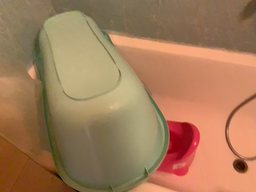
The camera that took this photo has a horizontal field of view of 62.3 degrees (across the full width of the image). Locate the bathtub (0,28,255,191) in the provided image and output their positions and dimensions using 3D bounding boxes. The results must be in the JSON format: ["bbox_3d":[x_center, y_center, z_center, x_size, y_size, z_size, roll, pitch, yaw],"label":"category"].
[{"bbox_3d":[0.170,0.210,1.040,1.260,0.590,0.680,12,58,13],"label":"bathtub"}]

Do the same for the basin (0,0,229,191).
[{"bbox_3d":[-0.140,-0.100,0.780,0.470,0.240,0.800,-27,58,-12],"label":"basin"}]

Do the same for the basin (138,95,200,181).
[{"bbox_3d":[0.200,0.200,1.030,0.230,0.200,0.320,10,58,12],"label":"basin"}]
